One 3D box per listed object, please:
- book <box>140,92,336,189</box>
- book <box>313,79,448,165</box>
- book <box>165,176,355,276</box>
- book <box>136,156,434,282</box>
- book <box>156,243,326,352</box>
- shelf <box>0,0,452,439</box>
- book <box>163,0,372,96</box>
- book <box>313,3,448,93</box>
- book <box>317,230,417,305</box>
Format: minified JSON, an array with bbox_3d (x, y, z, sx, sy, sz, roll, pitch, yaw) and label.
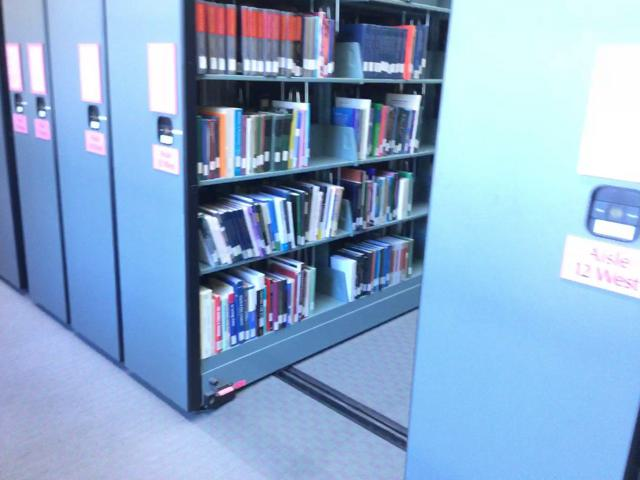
[{"bbox_3d":[-0.310,-0.420,2.390,0.290,0.330,0.780,15,18,42],"label":"book"},{"bbox_3d":[0.320,-0.600,2.940,0.300,0.380,0.680,15,18,42],"label":"book"},{"bbox_3d":[-0.230,-0.090,2.520,0.280,0.300,0.830,15,18,42],"label":"book"},{"bbox_3d":[-0.070,-0.170,2.740,0.410,0.380,1.510,15,18,42],"label":"book"},{"bbox_3d":[-0.340,0.230,2.620,0.320,0.280,0.710,15,18,42],"label":"book"},{"bbox_3d":[-0.610,-0.390,3.220,1.870,1.770,1.680,15,18,42],"label":"shelf"},{"bbox_3d":[-0.160,-0.770,2.280,0.140,0.350,0.950,15,18,42],"label":"book"},{"bbox_3d":[0.310,-0.900,2.790,0.200,0.330,0.760,15,18,42],"label":"book"},{"bbox_3d":[0.260,0.130,3.080,0.200,0.270,0.570,15,18,42],"label":"book"}]
